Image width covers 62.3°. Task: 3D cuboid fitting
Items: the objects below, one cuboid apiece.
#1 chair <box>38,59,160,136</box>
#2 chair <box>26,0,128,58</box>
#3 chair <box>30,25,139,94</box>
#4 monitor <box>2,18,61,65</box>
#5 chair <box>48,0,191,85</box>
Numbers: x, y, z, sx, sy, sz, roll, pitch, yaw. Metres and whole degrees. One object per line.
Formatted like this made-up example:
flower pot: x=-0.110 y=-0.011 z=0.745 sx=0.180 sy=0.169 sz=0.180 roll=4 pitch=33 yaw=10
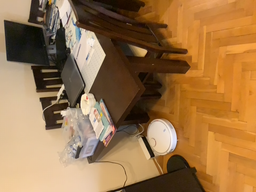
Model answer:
chair: x=-0.270 y=0.010 z=2.070 sx=0.480 sy=0.990 sz=0.440 roll=-56 pitch=49 yaw=38
chair: x=-0.590 y=-0.820 z=2.480 sx=0.440 sy=0.990 sz=0.480 roll=-55 pitch=50 yaw=39
chair: x=-0.470 y=-0.350 z=2.320 sx=0.480 sy=0.990 sz=0.440 roll=-56 pitch=49 yaw=38
monitor: x=-0.990 y=-0.560 z=2.190 sx=0.050 sy=0.450 sz=0.560 roll=-48 pitch=58 yaw=39
chair: x=-0.060 y=-0.430 z=1.760 sx=0.470 sy=0.990 sz=0.470 roll=-57 pitch=48 yaw=37
